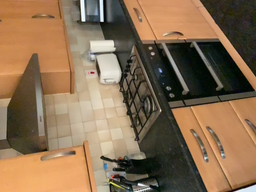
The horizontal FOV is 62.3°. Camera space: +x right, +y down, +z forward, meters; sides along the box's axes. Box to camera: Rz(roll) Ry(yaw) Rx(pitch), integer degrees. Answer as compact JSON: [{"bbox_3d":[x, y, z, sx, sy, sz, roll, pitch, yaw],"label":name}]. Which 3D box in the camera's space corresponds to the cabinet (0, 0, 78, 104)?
[{"bbox_3d":[-0.930,-0.430,1.840,0.320,0.830,0.940,111,147,-52],"label":"cabinet"}]
